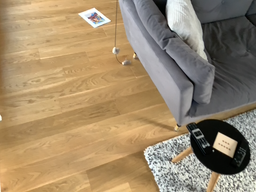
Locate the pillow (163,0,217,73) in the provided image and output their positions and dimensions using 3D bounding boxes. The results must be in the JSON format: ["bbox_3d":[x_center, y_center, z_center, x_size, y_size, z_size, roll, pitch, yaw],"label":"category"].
[{"bbox_3d":[0.370,-0.410,1.320,0.170,0.430,0.360,-17,16,11],"label":"pillow"}]

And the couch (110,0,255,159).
[{"bbox_3d":[1.040,-0.480,1.640,2.110,0.800,1.020,-15,56,-18],"label":"couch"}]
